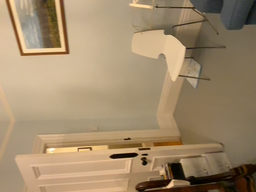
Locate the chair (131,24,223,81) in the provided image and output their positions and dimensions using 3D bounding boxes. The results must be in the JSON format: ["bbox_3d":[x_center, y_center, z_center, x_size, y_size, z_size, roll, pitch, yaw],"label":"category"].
[{"bbox_3d":[0.510,-0.510,2.460,0.400,0.850,0.540,97,168,-45],"label":"chair"}]
